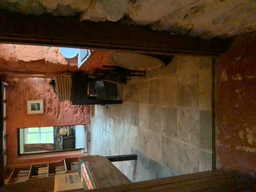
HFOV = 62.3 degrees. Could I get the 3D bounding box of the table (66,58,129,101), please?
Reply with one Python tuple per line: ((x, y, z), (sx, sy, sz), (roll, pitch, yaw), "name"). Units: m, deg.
((-0.610, -0.270, 3.700), (1.320, 0.810, 0.590), (-169, 79, -69), "table")
